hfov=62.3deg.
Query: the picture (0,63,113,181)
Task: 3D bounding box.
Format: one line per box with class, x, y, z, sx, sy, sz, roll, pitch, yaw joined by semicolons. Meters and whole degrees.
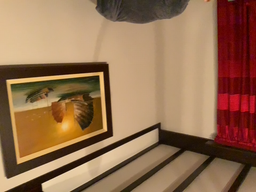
picture;-0.590;0.130;2.010;0.050;0.840;1.200;4;-168;37
